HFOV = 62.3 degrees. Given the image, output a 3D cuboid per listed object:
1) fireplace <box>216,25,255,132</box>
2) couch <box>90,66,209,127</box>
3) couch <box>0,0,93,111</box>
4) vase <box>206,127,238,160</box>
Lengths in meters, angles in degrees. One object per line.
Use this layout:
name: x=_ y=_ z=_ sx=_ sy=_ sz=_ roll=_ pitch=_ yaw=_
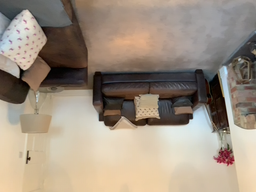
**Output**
fireplace: x=1.750 y=-0.150 z=2.890 sx=0.460 sy=1.130 sz=1.140 roll=-1 pitch=164 yaw=-2
couch: x=0.330 y=0.060 z=3.960 sx=1.890 sy=0.850 sz=1.000 roll=-1 pitch=164 yaw=-1
couch: x=-0.970 y=-0.520 z=1.790 sx=1.020 sy=0.860 sz=1.970 roll=-2 pitch=164 yaw=0
vase: x=1.760 y=0.910 z=4.020 sx=0.350 sy=0.570 sz=0.410 roll=-1 pitch=164 yaw=-1
